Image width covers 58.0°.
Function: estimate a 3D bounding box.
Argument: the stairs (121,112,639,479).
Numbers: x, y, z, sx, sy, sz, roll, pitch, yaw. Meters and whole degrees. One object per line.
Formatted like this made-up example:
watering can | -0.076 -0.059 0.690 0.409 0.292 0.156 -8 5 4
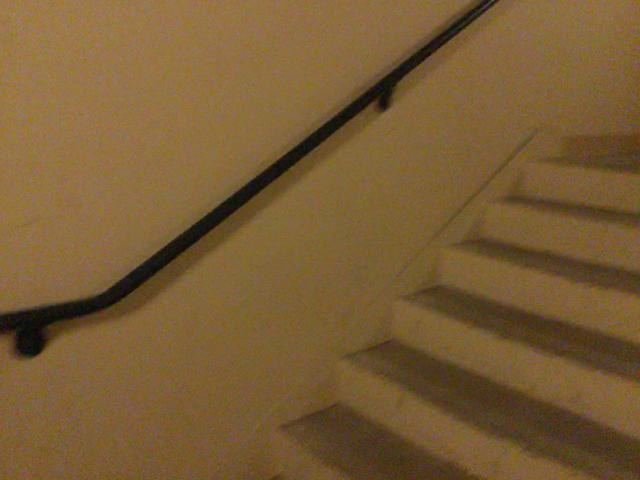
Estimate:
stairs | 0.770 0.280 1.850 2.160 1.150 1.310 -19 22 -41
